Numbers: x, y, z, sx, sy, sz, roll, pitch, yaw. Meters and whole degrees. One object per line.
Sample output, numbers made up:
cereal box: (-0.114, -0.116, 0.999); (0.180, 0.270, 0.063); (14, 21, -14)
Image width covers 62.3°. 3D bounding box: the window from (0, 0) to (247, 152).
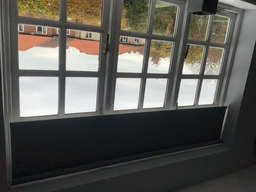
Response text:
window: (0.100, -0.220, 1.560); (1.810, 1.010, 0.200); (-1, -165, -28)
